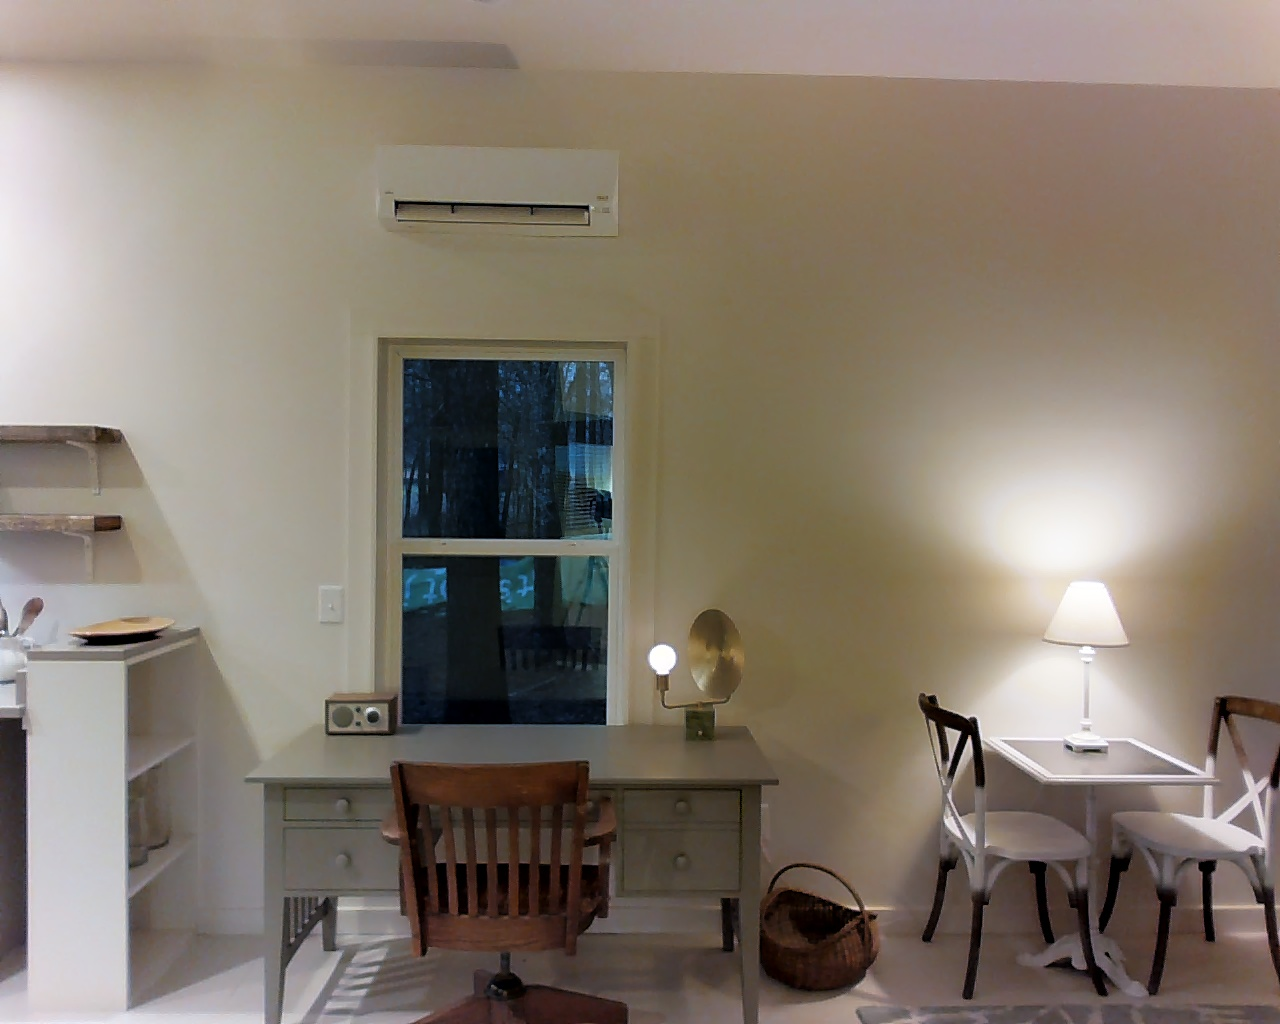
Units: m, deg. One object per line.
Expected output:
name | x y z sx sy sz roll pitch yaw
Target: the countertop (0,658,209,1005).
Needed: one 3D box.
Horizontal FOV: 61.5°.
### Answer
countertop | -2.630 0.980 3.480 2.190 0.920 0.680 1 1 -2
